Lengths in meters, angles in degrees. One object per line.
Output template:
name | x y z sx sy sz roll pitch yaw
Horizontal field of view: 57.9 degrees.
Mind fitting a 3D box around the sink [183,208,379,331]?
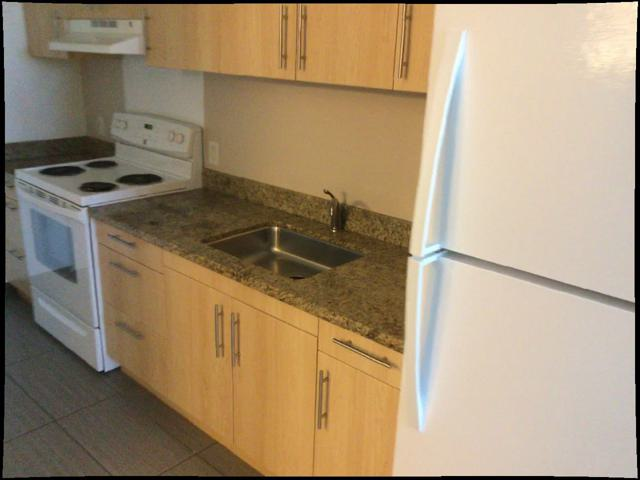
sink | -0.160 0.080 2.200 0.620 0.190 0.420 20 26 38

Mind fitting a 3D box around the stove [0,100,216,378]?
stove | -1.149 -0.090 3.090 0.970 1.141 0.710 20 26 38
